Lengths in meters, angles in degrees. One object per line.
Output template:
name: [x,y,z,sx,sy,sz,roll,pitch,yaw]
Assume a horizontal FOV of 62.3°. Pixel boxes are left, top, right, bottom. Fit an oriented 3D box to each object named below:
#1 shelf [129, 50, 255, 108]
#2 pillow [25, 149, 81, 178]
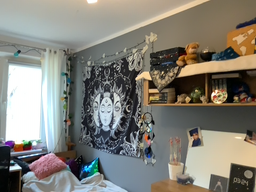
shelf: [0.670,-0.090,1.760,0.370,0.360,1.580,3,-4,-41]
pillow: [-1.080,0.940,3.040,0.610,0.190,0.550,3,-4,-39]
